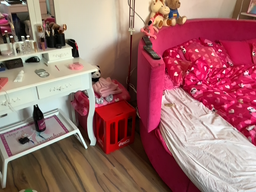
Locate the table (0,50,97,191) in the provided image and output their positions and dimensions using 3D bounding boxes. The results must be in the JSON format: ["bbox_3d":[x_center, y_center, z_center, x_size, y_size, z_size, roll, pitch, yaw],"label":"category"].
[{"bbox_3d":[-0.740,0.150,1.640,0.840,0.760,0.480,-17,37,-30],"label":"table"}]
